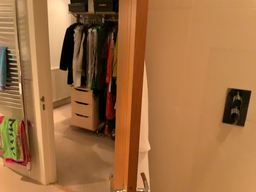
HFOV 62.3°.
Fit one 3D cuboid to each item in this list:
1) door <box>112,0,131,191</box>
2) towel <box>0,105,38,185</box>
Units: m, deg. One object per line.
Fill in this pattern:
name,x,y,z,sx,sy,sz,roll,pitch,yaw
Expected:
door,-0.060,0.260,1.190,0.020,1.930,0.810,1,17,-5
towel,-1.220,0.490,2.230,0.420,0.680,0.270,13,19,32
